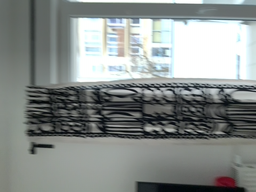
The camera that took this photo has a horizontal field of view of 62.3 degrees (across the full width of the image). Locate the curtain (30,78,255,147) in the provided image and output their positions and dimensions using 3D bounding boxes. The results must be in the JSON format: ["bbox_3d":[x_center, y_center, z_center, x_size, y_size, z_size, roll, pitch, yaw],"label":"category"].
[{"bbox_3d":[0.310,0.110,1.520,0.210,1.930,0.430,-83,-6,-84],"label":"curtain"}]
